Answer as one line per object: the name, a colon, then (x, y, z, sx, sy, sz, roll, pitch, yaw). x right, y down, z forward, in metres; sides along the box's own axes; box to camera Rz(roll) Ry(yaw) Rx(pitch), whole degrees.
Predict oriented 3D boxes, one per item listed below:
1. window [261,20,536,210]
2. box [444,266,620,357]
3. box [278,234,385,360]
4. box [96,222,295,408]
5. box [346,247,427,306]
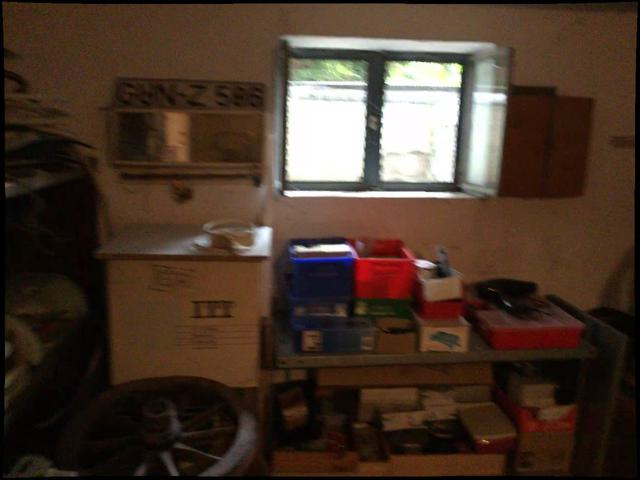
window: (0.250, -0.470, 2.210, 0.889, 0.601, 0.530, -2, 13, -11)
box: (0.709, 0.230, 2.020, 0.380, 0.140, 0.470, -2, 13, -11)
box: (0.020, 0.170, 1.980, 0.260, 0.270, 0.490, -2, 13, -11)
box: (-0.390, 0.210, 1.900, 0.549, 0.440, 0.460, -2, 13, -11)
box: (0.220, 0.120, 1.980, 0.210, 0.130, 0.230, -2, 13, -11)
